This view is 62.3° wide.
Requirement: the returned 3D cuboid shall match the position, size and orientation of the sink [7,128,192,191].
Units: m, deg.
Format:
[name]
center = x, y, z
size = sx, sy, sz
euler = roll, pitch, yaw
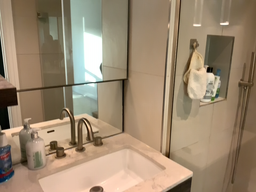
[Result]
[sink]
center = -0.130, 0.380, 0.940
size = 0.610, 0.190, 0.530
euler = -10, 18, -38
